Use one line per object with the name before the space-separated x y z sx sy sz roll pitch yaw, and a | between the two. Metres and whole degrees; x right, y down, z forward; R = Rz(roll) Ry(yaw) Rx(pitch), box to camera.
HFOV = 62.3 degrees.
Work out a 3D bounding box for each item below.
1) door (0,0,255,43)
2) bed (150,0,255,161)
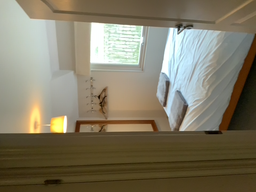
door | 0.390 -0.500 1.130 0.990 2.180 0.110 -176 87 -81
bed | 0.900 -0.540 2.780 1.610 0.580 2.160 -104 17 -58
